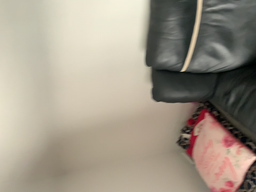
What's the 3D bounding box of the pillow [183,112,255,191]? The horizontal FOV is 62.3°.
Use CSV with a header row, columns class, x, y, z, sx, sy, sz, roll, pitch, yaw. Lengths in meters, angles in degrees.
class,x,y,z,sx,sy,sz,roll,pitch,yaw
pillow,0.520,0.400,1.290,0.390,0.100,0.470,-131,39,-58
